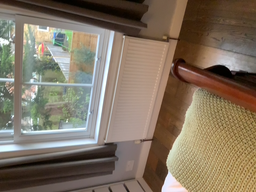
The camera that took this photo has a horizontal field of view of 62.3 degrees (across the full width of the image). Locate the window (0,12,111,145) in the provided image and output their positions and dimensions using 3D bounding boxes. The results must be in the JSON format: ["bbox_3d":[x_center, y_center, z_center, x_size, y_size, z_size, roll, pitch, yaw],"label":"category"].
[{"bbox_3d":[-0.920,-0.090,1.810,0.030,1.470,1.130,40,124,55],"label":"window"}]
